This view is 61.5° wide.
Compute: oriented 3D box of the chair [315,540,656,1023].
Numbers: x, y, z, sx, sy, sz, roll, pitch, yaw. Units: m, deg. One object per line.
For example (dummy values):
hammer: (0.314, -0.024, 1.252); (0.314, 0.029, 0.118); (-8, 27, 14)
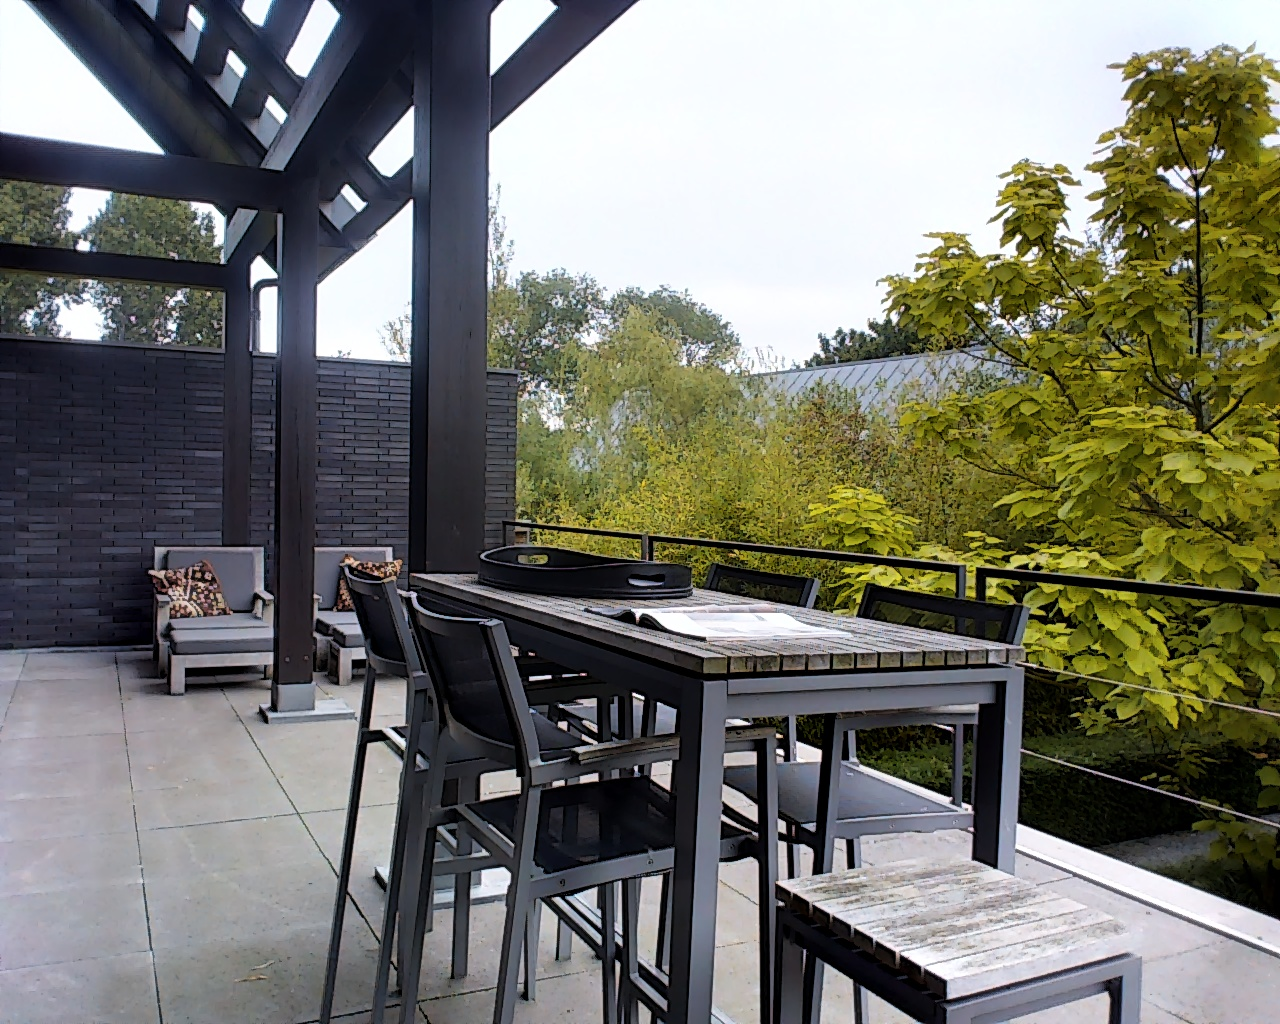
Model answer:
chair: (-0.380, 0.650, 2.480); (0.590, 1.140, 0.610); (1, 1, -26)

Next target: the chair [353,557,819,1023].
chair: (-0.130, 0.670, 1.920); (0.620, 1.140, 0.600); (1, 1, -26)
